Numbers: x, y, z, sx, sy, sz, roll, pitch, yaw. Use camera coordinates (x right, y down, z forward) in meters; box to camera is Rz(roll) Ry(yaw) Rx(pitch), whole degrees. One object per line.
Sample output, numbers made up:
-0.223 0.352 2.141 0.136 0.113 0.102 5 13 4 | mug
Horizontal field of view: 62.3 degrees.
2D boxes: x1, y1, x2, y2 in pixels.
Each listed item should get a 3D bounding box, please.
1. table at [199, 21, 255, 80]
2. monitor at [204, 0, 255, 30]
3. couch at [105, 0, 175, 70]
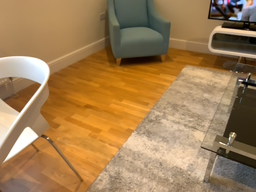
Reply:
1.480 -0.610 2.780 0.860 0.540 0.520 16 35 25 | table
1.430 -1.090 2.490 0.940 0.580 0.070 15 35 23 | monitor
0.120 -0.950 3.090 0.780 0.820 0.790 -6 32 -9 | couch
